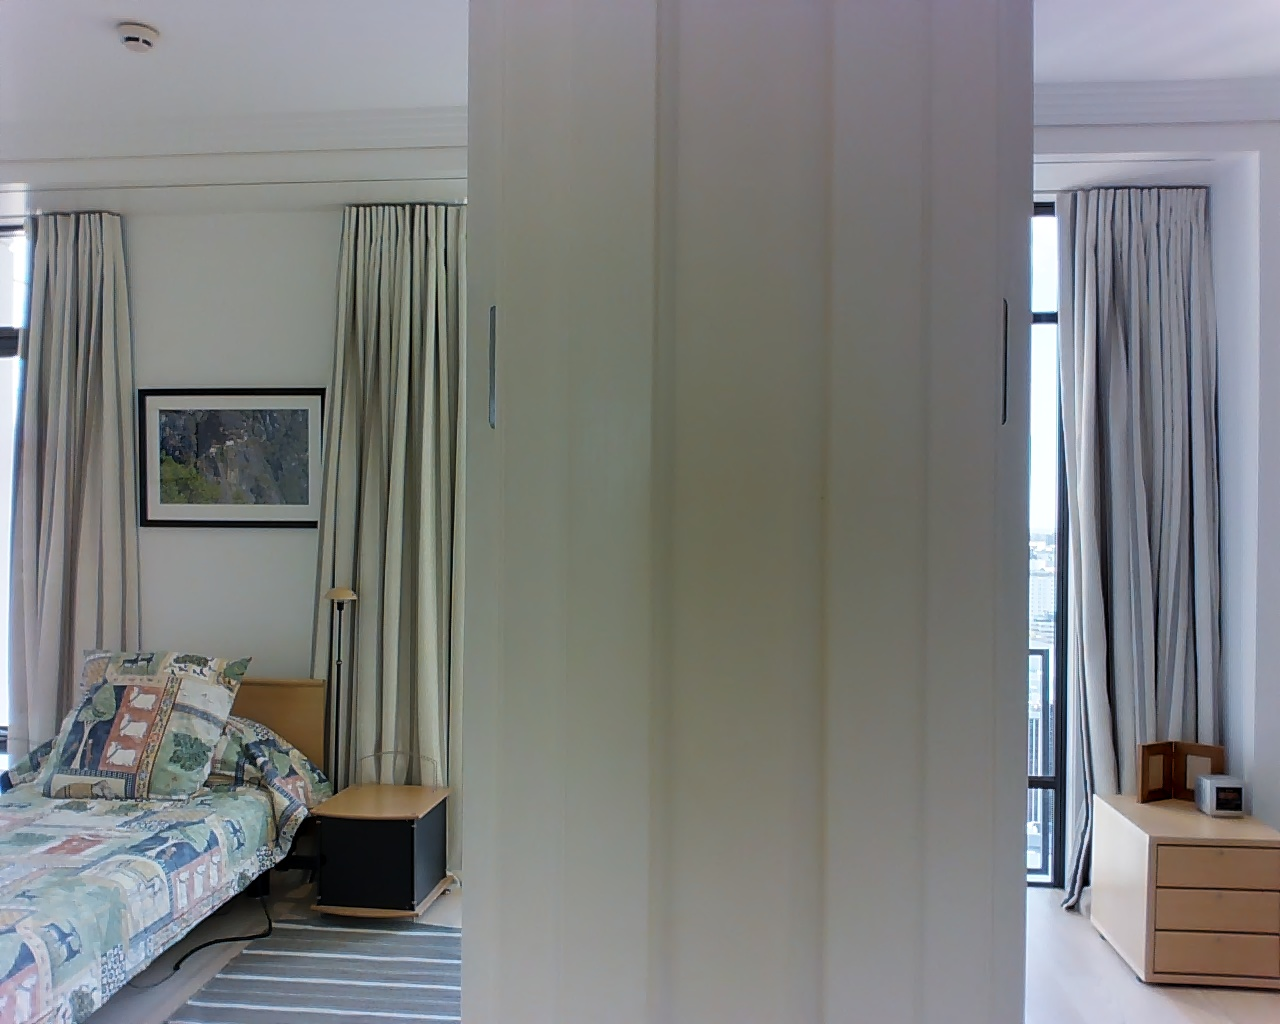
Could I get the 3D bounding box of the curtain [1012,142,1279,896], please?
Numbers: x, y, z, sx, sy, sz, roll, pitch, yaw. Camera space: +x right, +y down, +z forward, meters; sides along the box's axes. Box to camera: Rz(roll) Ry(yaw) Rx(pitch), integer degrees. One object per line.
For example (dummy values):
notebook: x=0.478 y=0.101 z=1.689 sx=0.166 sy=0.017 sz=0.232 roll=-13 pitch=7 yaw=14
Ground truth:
curtain: x=1.810 y=0.020 z=3.850 sx=0.560 sy=2.521 sz=0.380 roll=6 pitch=1 yaw=6
